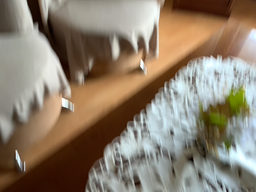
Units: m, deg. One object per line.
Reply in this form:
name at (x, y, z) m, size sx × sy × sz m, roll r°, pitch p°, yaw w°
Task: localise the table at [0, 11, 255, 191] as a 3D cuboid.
table at (0.240, 0.250, 0.900) m, size 1.170 × 0.600 × 0.600 m, roll -37°, pitch 63°, yaw -27°
